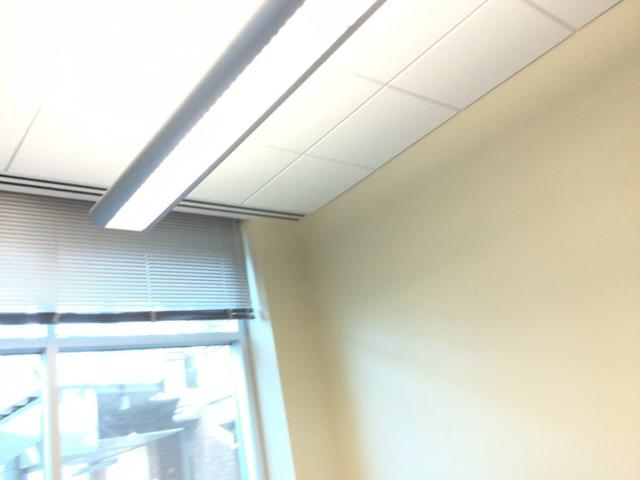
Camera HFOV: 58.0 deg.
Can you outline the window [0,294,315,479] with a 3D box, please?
[{"bbox_3d":[-1.010,1.180,2.400,2.170,1.810,0.440,2,-28,-40],"label":"window"}]
